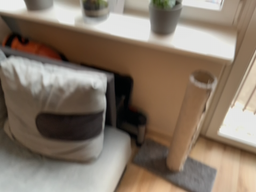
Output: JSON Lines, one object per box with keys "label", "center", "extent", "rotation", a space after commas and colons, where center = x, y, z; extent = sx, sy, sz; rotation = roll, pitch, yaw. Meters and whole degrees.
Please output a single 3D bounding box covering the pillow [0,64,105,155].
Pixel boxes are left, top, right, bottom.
{"label": "pillow", "center": [-0.390, 0.060, 1.020], "extent": [0.450, 0.370, 0.170], "rotation": [1, 30, 22]}
